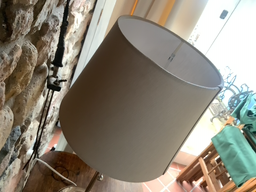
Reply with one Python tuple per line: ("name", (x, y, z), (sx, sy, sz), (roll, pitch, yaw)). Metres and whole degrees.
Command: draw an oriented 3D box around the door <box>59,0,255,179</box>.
("door", (0.550, -0.220, 1.630), (1.640, 2.020, 0.120), (20, 30, -13))
